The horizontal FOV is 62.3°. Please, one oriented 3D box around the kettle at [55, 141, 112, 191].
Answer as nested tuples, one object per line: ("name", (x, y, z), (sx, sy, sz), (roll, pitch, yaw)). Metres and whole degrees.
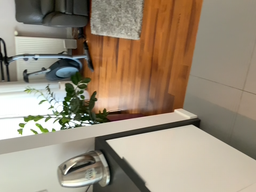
("kettle", (-0.240, 0.400, 1.110), (0.170, 0.240, 0.230), (32, 121, 53))
